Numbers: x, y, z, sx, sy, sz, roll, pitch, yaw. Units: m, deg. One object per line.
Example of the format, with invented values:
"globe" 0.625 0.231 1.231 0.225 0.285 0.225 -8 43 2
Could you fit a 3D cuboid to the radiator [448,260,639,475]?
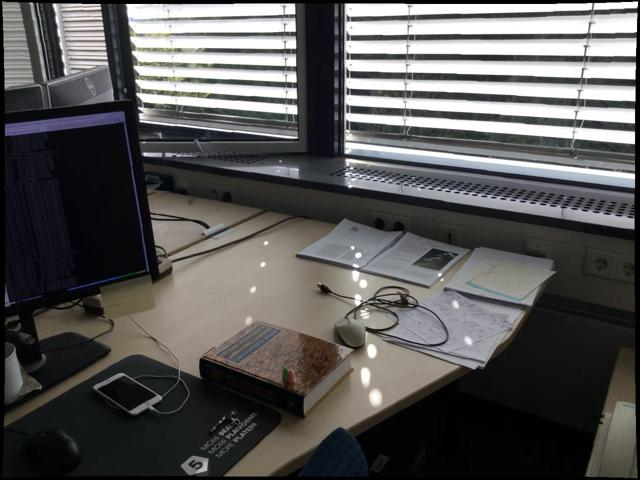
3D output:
"radiator" 0.929 0.430 1.840 0.979 0.500 0.230 12 27 30
